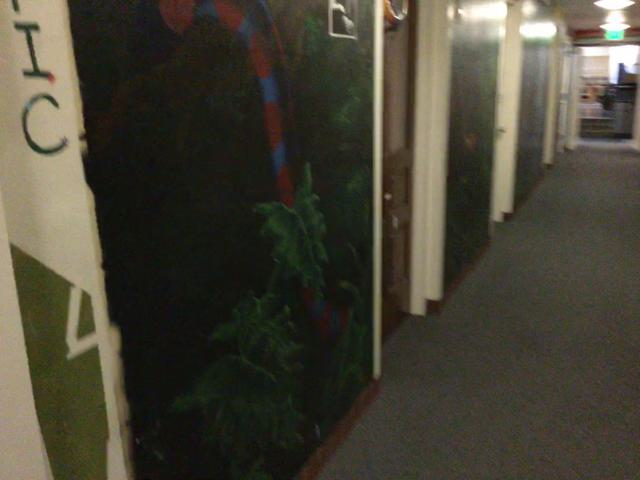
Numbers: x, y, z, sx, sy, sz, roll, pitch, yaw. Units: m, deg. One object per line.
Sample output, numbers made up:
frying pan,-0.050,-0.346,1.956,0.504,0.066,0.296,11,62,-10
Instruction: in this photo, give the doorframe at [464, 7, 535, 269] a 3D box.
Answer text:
doorframe,1.660,-0.910,5.300,0.240,2.130,1.120,8,15,26

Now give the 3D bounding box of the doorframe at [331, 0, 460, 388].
doorframe,0.410,-0.480,2.920,0.220,2.150,1.060,8,15,26
